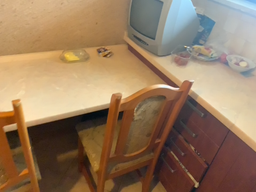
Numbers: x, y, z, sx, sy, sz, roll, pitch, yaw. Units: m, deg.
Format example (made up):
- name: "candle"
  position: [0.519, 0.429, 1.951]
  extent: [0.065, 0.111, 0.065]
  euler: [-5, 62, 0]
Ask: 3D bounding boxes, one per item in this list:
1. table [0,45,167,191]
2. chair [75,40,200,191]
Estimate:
- name: "table"
  position: [-0.600, 0.210, 1.350]
  extent: [1.440, 0.760, 0.630]
  euler: [-11, 40, -26]
- name: "chair"
  position: [-0.040, 0.230, 1.270]
  extent: [0.420, 0.970, 0.460]
  euler: [-11, 40, -25]
